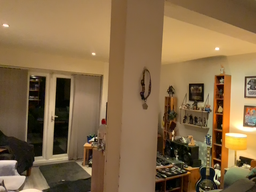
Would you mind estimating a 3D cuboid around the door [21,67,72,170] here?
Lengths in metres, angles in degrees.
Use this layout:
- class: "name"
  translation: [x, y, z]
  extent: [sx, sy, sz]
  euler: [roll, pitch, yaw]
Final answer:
- class: "door"
  translation: [-1.810, 0.490, 4.760]
  extent: [0.980, 2.190, 0.100]
  euler: [2, 1, -29]

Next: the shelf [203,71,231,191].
- class: "shelf"
  translation: [1.550, 0.620, 3.710]
  extent: [0.190, 2.060, 0.330]
  euler: [2, 1, -33]

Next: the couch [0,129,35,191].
- class: "couch"
  translation: [-2.220, 1.070, 3.670]
  extent: [0.850, 0.840, 0.780]
  euler: [2, 1, 0]
